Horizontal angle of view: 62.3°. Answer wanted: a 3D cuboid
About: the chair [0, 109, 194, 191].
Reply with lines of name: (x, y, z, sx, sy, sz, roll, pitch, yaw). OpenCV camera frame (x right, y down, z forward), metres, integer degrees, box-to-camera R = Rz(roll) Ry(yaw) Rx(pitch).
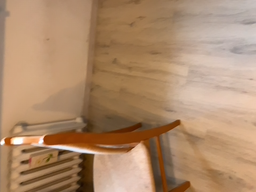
chair: (-0.070, 0.410, 1.150, 0.430, 0.930, 0.550, -12, 85, 38)
